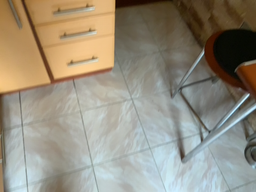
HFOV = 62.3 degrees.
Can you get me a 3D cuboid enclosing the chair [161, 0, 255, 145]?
[{"bbox_3d":[0.540,-0.120,1.100,0.440,0.840,0.400,-13,62,-13],"label":"chair"}]
